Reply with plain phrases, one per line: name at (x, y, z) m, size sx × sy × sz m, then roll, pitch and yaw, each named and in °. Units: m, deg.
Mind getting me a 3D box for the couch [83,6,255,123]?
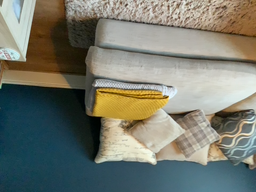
couch at (0.250, -0.130, 1.830) m, size 1.210 × 0.460 × 1.050 m, roll 5°, pitch 161°, yaw -11°
